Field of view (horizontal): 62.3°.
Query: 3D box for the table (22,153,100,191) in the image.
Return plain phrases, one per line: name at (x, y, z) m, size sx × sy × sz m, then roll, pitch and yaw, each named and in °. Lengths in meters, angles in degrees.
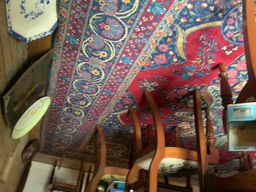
table at (-1.070, 1.460, 3.380) m, size 1.030 × 0.770 × 0.490 m, roll 16°, pitch 146°, yaw -13°
